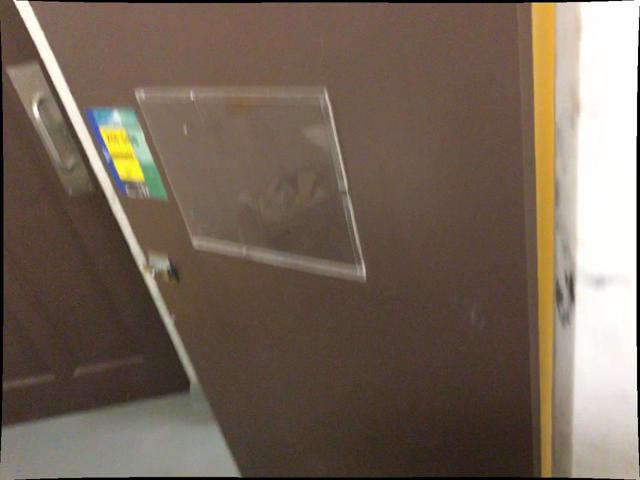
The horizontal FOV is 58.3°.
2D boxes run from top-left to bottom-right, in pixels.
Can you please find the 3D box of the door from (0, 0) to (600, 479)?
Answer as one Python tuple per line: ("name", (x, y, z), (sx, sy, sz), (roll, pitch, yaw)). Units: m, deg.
("door", (-0.040, 0.050, 0.840), (0.770, 1.591, 0.120), (8, 38, 32))
